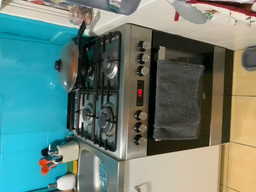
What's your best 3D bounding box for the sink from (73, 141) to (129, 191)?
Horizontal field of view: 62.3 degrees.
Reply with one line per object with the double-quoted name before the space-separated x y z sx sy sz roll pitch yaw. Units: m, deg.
"sink" -0.170 0.480 1.220 0.380 0.150 0.340 6 94 56
